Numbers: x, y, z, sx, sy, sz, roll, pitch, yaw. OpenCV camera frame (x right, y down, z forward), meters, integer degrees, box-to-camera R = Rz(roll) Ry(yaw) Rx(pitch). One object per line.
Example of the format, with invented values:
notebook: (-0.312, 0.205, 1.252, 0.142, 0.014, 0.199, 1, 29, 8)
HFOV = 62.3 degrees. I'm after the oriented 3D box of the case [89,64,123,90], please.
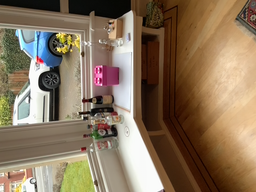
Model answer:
case: (-0.200, -0.170, 1.900, 0.270, 0.210, 0.210, 7, 99, 62)
